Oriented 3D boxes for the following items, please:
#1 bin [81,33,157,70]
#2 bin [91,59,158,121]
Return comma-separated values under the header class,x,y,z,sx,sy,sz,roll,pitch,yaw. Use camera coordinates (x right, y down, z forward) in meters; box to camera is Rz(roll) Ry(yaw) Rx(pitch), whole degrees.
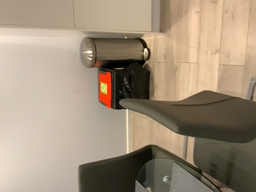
class,x,y,z,sx,sy,sz,roll,pitch,yaw
bin,-0.090,-0.470,2.190,0.410,0.650,0.320,23,116,54
bin,-0.050,-0.100,2.260,0.430,0.550,0.520,23,116,54
